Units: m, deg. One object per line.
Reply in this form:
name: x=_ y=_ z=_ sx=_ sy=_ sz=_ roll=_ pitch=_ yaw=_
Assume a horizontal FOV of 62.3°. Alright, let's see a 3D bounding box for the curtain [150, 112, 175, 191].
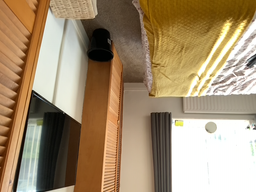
curtain: x=0.480 y=1.210 z=3.000 sx=0.330 sy=1.970 sz=0.250 roll=1 pitch=161 yaw=4
